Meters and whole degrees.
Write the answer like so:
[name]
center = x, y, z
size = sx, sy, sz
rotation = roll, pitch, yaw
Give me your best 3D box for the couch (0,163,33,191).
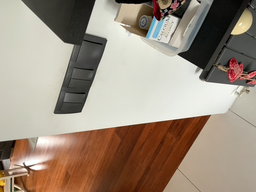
[couch]
center = -2.500, 1.730, 3.860
size = 0.950, 1.130, 0.730
rotation = -19, 77, 44
